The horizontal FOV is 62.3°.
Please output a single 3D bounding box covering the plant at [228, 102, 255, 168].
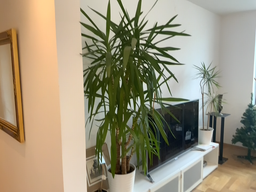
[{"bbox_3d":[2.110,0.650,3.760,0.460,1.000,0.540,5,9,37],"label":"plant"}]
